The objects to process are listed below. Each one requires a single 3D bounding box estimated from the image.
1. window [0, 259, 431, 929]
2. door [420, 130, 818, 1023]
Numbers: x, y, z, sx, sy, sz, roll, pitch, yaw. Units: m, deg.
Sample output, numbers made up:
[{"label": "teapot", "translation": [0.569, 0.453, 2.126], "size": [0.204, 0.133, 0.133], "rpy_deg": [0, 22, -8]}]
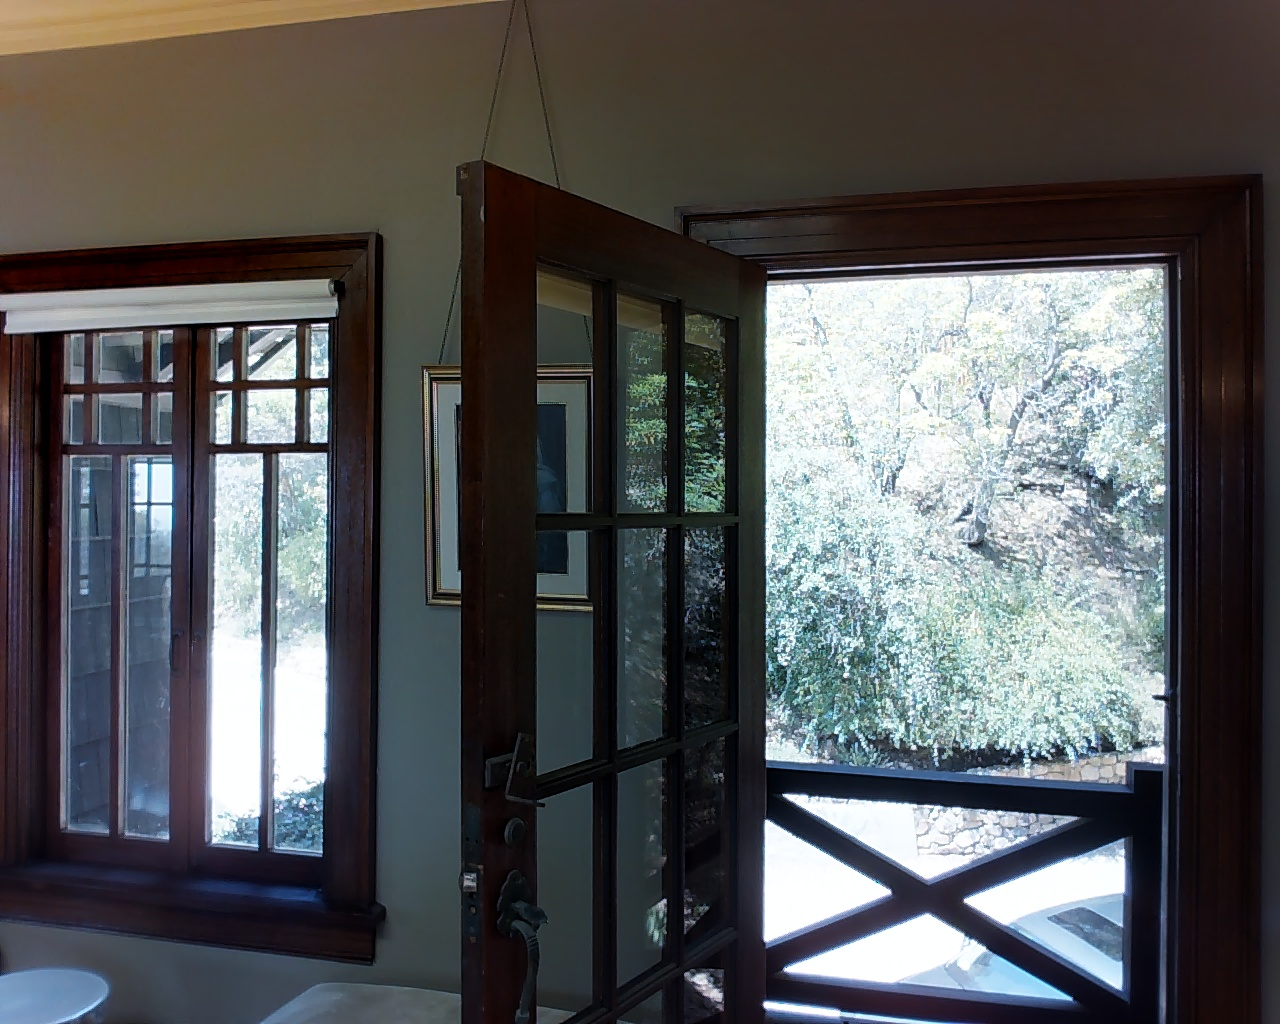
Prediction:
[{"label": "window", "translation": [-1.180, 0.190, 2.820], "size": [1.250, 1.590, 0.220], "rpy_deg": [0, 0, 14]}, {"label": "door", "translation": [0.020, 0.510, 2.040], "size": [0.170, 2.150, 0.980], "rpy_deg": [0, 0, 37]}]
